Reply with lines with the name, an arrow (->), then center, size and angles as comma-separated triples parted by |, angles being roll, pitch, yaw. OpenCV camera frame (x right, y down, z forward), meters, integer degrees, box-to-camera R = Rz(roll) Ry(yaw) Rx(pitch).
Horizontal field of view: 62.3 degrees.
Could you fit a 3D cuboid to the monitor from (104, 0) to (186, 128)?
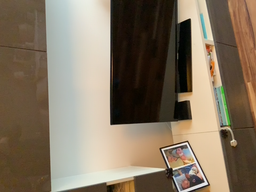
monitor -> 0.140, -0.250, 1.400 | 0.080, 0.560, 0.900 | -1, 85, 58
